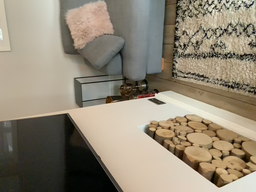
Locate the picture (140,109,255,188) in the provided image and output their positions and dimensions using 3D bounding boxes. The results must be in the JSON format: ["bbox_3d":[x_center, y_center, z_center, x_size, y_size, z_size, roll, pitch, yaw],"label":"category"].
[{"bbox_3d":[0.440,0.240,1.240,0.610,0.490,0.060,29,123,58],"label":"picture"}]
